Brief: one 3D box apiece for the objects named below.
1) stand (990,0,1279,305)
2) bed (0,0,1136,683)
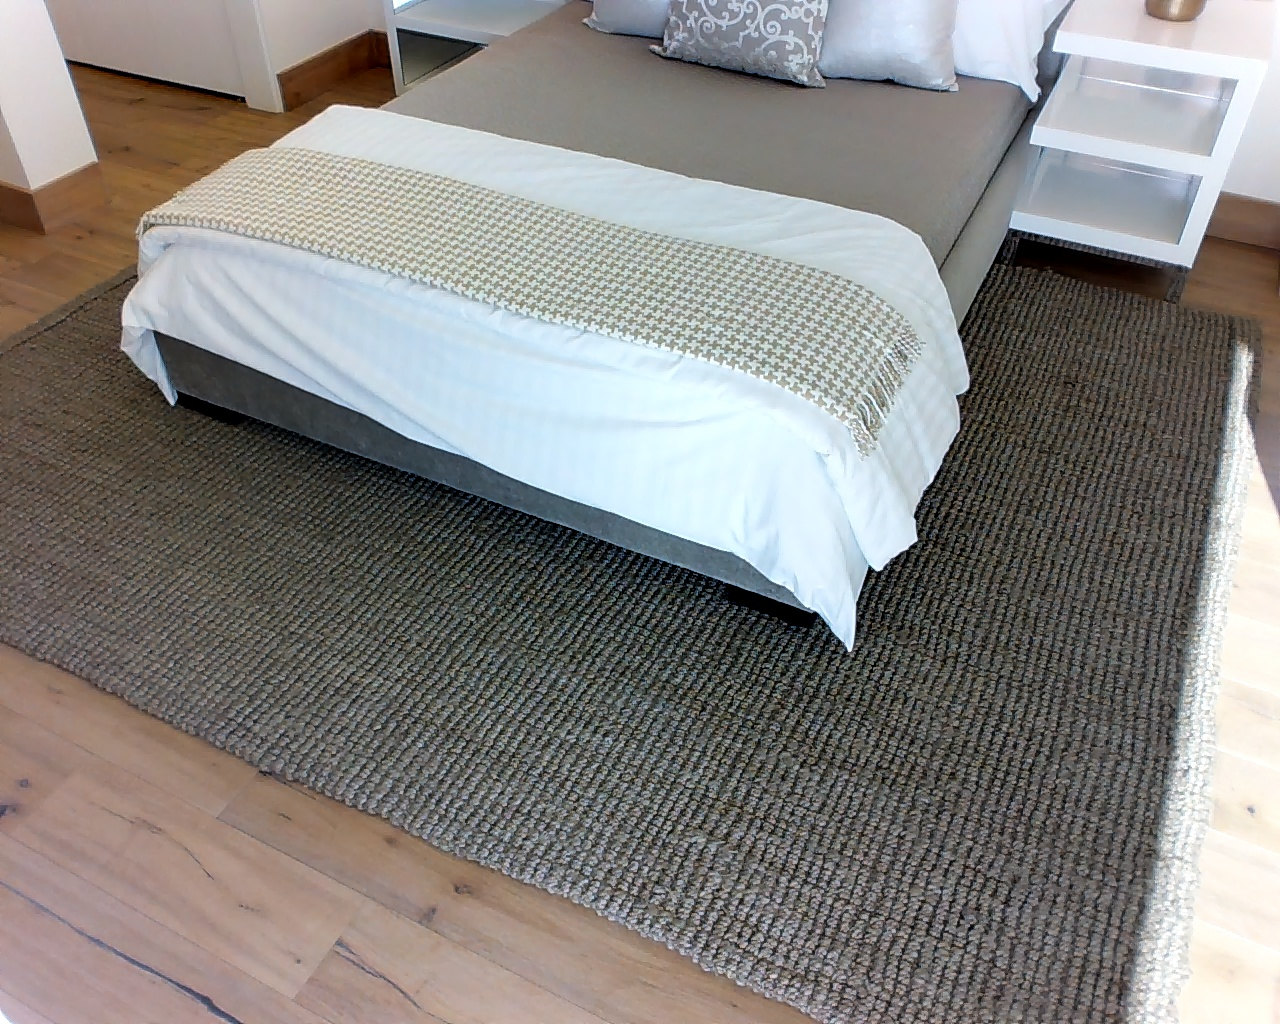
[{"bbox_3d":[1.480,-1.120,3.120,0.630,0.690,0.620,18,44,19],"label":"stand"},{"bbox_3d":[0.060,-1.160,2.680,1.980,1.310,2.340,18,44,19],"label":"bed"}]
